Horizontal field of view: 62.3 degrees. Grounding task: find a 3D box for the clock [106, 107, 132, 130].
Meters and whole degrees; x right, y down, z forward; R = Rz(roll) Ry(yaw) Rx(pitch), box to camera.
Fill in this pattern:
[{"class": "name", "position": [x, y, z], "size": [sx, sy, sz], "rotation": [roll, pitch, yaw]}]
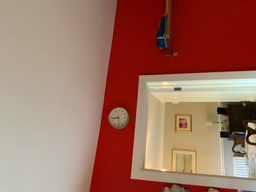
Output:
[{"class": "clock", "position": [-0.080, 0.200, 1.900], "size": [0.030, 0.210, 0.200], "rotation": [48, -136, -65]}]
